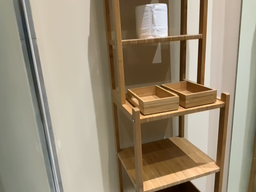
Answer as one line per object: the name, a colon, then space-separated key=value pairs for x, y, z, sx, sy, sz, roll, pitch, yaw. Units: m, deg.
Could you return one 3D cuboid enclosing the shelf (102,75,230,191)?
shelf: x=0.140 y=0.440 z=0.920 sx=0.360 sy=0.990 sz=0.300 roll=-8 pitch=18 yaw=-16
